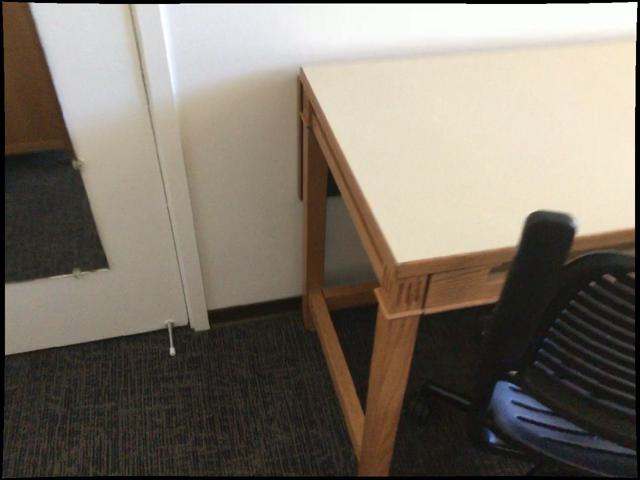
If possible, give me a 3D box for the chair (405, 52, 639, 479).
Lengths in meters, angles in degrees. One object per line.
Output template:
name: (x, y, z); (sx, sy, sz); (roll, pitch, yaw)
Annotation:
chair: (0.509, 0.261, 0.970); (0.619, 0.891, 0.510); (12, 44, 11)
